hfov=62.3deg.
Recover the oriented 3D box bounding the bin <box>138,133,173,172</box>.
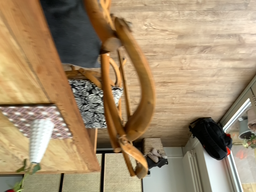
[{"bbox_3d":[0.370,0.800,3.010,0.410,0.420,0.390,-2,147,-2],"label":"bin"}]
